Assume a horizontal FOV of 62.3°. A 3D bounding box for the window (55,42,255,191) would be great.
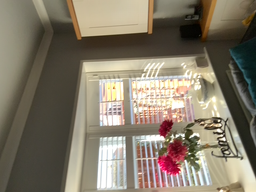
[{"bbox_3d":[0.190,0.410,1.910,0.470,1.400,2.110,86,-179,-53],"label":"window"}]
